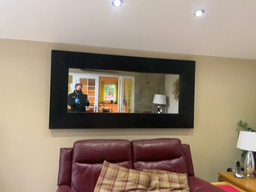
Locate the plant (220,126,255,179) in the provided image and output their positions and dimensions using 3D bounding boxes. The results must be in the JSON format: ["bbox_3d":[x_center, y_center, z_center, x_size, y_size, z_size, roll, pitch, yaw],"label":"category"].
[{"bbox_3d":[1.550,0.710,2.810,0.390,0.570,0.480,2,-1,-13],"label":"plant"}]

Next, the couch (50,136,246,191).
[{"bbox_3d":[0.120,1.010,2.230,1.690,0.980,1.030,2,-1,-14],"label":"couch"}]
